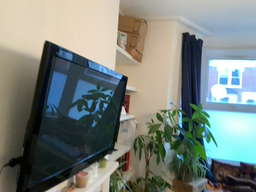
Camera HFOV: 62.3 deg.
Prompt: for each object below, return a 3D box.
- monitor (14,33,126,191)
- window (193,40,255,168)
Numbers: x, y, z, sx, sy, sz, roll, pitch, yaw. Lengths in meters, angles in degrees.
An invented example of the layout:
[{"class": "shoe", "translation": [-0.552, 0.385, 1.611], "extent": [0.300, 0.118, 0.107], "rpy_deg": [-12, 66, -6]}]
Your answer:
[{"class": "monitor", "translation": [-0.230, 0.140, 1.290], "extent": [0.040, 0.670, 0.980], "rpy_deg": [9, -5, 16]}, {"class": "window", "translation": [1.720, 0.100, 3.320], "extent": [1.220, 1.930, 0.150], "rpy_deg": [4, -1, 16]}]
